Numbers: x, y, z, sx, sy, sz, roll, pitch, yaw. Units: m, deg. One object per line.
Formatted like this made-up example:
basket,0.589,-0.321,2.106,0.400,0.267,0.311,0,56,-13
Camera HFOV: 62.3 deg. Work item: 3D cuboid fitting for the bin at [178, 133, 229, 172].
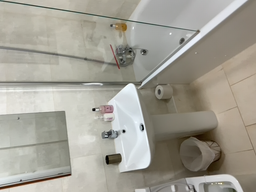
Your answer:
bin,0.630,0.480,1.790,0.250,0.250,0.250,-38,59,55

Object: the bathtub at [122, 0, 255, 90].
bathtub,0.610,-0.680,1.460,1.640,0.550,0.690,-39,58,55

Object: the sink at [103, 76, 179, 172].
sink,0.060,0.210,1.520,0.420,0.250,0.570,-39,58,55
